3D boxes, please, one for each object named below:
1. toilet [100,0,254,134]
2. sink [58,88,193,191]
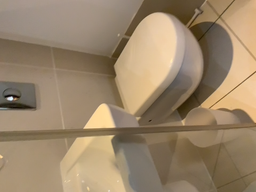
[{"bbox_3d":[0.220,-0.120,1.190,0.560,0.490,0.420,-51,48,42],"label":"toilet"},{"bbox_3d":[-0.020,0.380,0.600,0.490,0.150,0.630,-50,48,42],"label":"sink"}]
